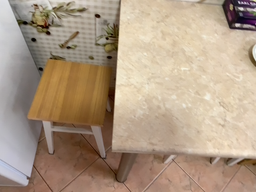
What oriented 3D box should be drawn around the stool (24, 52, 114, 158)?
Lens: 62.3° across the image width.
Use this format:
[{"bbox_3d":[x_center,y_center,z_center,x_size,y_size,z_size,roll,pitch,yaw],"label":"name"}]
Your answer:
[{"bbox_3d":[-0.250,0.080,1.090,0.310,0.480,0.340,5,60,-4],"label":"stool"}]
